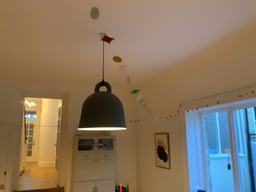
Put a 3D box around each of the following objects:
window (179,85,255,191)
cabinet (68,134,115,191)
[{"bbox_3d":[1.600,0.750,2.870,0.460,1.620,2.240,4,-12,-22],"label":"window"},{"bbox_3d":[-0.820,1.730,4.720,0.930,1.750,0.470,4,-12,-21],"label":"cabinet"}]
